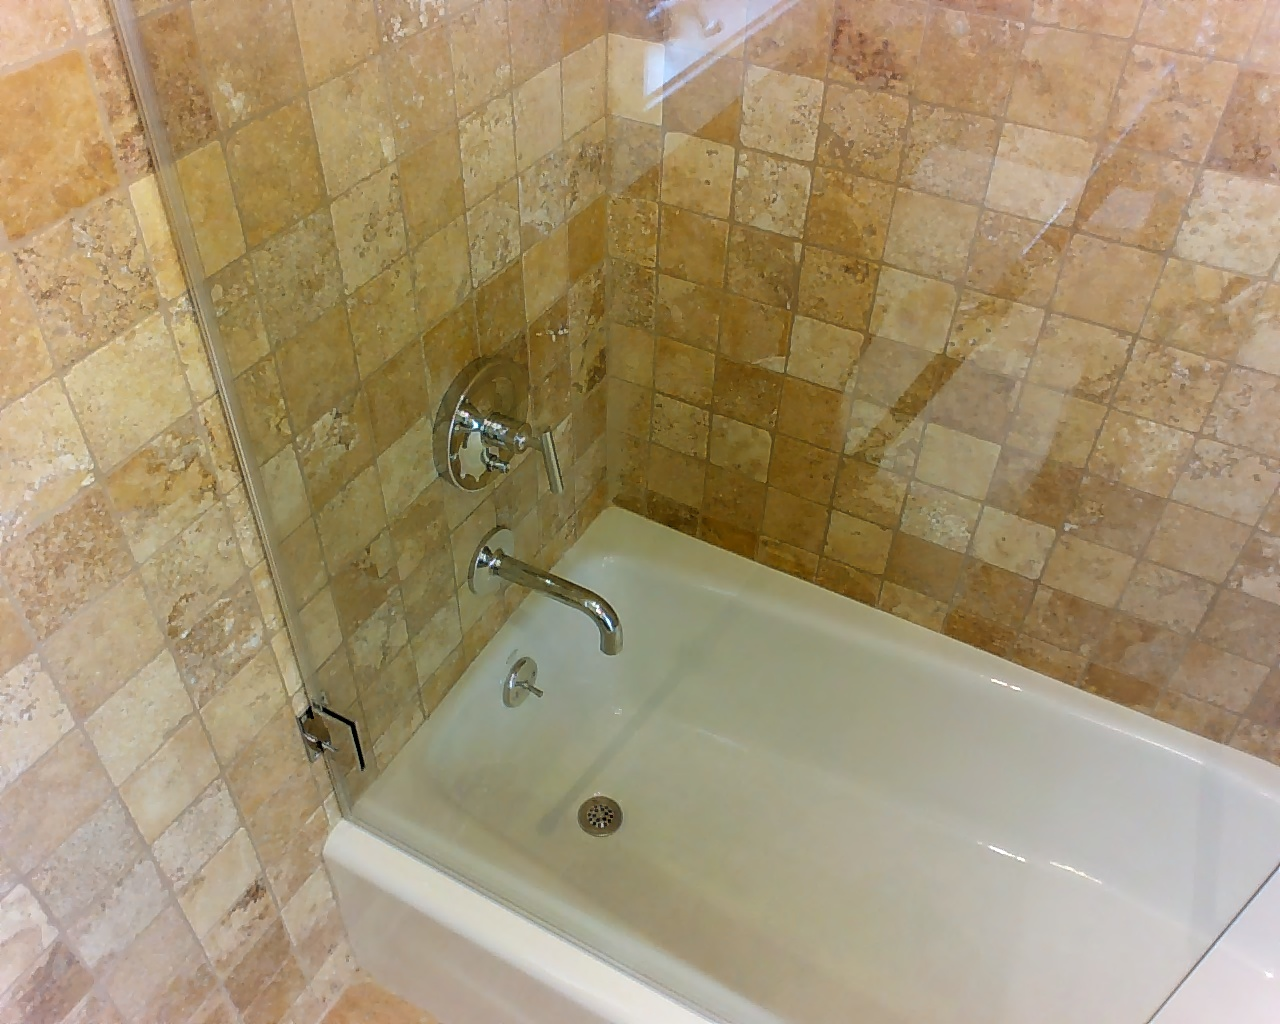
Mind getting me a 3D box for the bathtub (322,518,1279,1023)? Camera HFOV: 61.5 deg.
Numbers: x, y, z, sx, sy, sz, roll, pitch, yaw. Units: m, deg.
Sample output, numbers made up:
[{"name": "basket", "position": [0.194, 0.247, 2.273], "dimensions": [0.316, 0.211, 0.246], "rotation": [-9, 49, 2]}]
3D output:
[{"name": "bathtub", "position": [0.410, 0.600, 1.450], "dimensions": [1.430, 0.370, 0.740], "rotation": [21, 46, 20]}]
